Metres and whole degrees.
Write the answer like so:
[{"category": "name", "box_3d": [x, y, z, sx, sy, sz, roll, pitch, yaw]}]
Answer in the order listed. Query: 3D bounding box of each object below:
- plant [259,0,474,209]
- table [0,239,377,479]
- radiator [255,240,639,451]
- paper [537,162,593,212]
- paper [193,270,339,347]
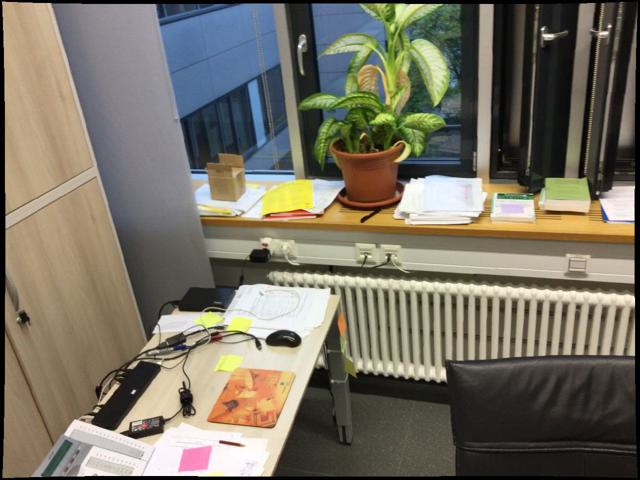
[{"category": "plant", "box_3d": [0.210, -0.571, 2.230, 0.699, 0.791, 0.370, 3, 30, 18]}, {"category": "table", "box_3d": [-0.290, 0.641, 1.900, 0.669, 0.771, 1.210, 3, 30, 18]}, {"category": "radiator", "box_3d": [1.079, 0.430, 2.230, 2.648, 0.620, 0.350, 3, 30, 18]}, {"category": "paper", "box_3d": [0.899, -0.200, 2.140, 0.170, 0.080, 0.260, 3, 30, 18]}, {"category": "paper", "box_3d": [-0.180, 0.230, 2.040, 0.420, 0.060, 0.320, 4, 30, 18]}]
